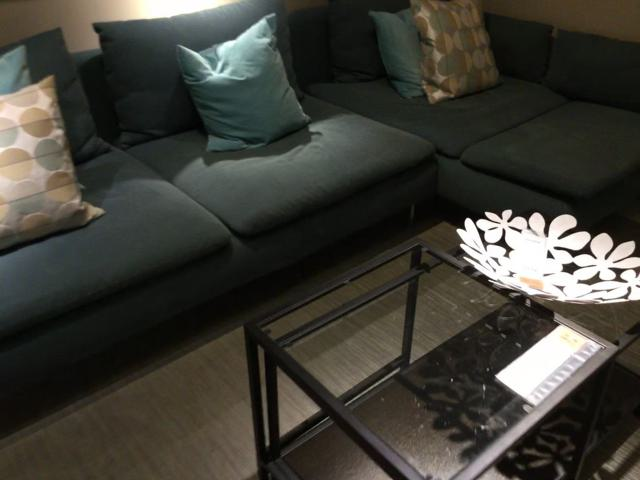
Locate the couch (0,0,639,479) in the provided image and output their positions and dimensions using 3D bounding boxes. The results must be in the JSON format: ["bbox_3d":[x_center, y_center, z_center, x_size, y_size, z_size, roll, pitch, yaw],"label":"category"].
[{"bbox_3d":[-0.070,-0.340,1.990,2.800,0.780,1.480,-23,36,-33],"label":"couch"}]
